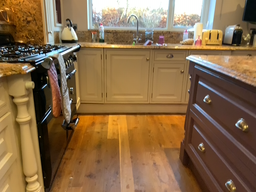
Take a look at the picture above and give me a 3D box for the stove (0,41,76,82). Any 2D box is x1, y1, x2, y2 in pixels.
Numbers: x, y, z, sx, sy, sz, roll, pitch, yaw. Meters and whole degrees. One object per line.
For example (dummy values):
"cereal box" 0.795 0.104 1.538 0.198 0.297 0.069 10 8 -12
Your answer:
"stove" -0.840 -0.320 1.650 0.630 0.120 1.230 1 18 -4
